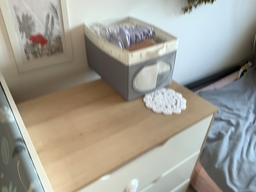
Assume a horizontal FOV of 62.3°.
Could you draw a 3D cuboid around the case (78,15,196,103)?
[{"bbox_3d":[0.030,-0.200,0.970,0.370,0.200,0.350,-22,43,-30],"label":"case"}]
